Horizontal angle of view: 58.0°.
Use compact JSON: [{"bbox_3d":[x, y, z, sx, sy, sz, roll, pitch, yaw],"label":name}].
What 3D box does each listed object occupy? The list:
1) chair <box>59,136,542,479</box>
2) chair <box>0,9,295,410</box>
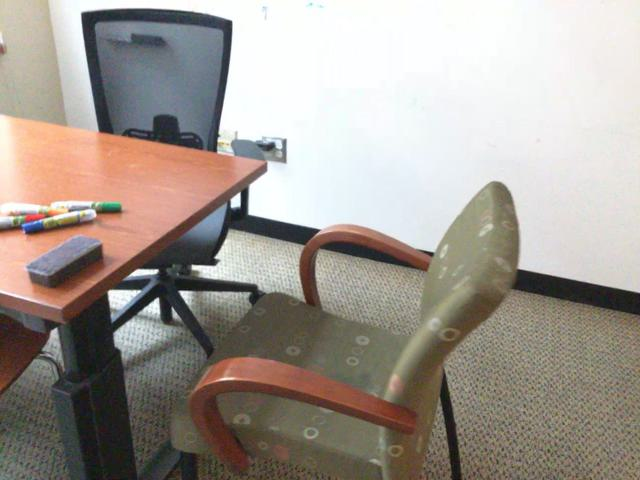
[{"bbox_3d":[0.040,0.190,1.120,0.600,0.530,0.710,12,29,19],"label":"chair"},{"bbox_3d":[-0.510,-0.150,1.880,0.700,1.040,0.730,-5,28,-14],"label":"chair"}]
